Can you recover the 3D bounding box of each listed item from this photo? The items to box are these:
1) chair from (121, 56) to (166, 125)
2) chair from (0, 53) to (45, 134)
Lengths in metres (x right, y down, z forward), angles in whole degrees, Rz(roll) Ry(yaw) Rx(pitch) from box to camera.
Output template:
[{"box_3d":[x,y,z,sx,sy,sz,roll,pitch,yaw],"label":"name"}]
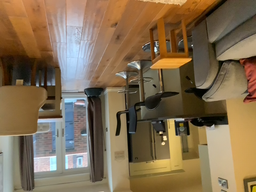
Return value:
[{"box_3d":[0.210,-0.060,3.170,0.490,0.960,0.470,-2,173,-13],"label":"chair"},{"box_3d":[-1.430,0.000,2.820,0.540,0.950,0.640,-1,172,-17],"label":"chair"}]
